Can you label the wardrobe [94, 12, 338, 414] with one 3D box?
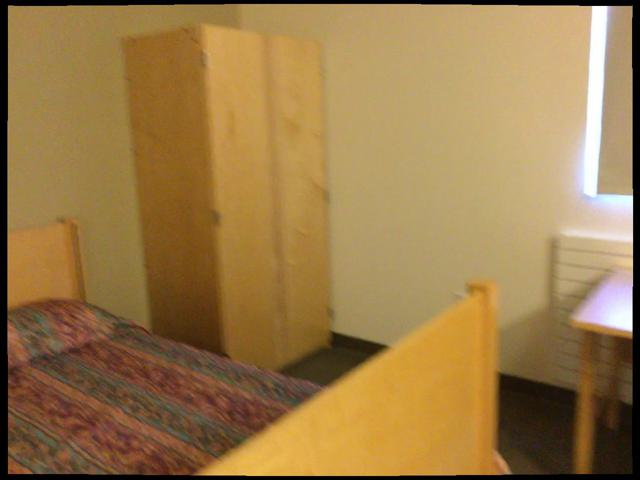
[{"bbox_3d":[-0.529,-0.190,3.340,0.809,1.923,0.969,7,16,36],"label":"wardrobe"}]
